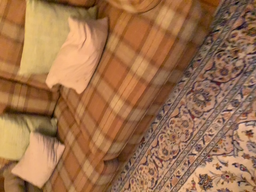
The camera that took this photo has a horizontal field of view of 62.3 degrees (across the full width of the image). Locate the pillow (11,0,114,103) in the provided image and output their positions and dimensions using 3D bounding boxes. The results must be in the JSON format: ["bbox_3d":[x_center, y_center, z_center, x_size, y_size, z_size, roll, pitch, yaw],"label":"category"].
[{"bbox_3d":[-0.380,-0.250,1.170,0.390,0.290,0.420,44,117,32],"label":"pillow"}]
